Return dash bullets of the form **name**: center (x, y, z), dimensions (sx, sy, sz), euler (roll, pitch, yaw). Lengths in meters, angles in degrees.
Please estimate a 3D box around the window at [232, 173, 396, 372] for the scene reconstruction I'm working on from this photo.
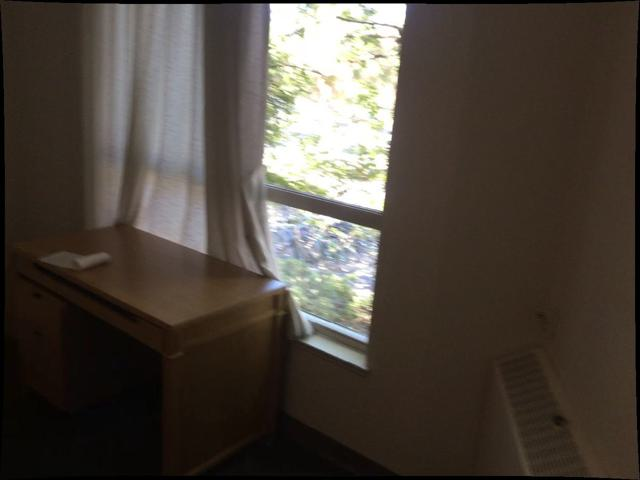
- **window**: center (-0.050, 0.110, 2.440), dimensions (0.609, 0.641, 0.260), euler (19, 24, 33)
